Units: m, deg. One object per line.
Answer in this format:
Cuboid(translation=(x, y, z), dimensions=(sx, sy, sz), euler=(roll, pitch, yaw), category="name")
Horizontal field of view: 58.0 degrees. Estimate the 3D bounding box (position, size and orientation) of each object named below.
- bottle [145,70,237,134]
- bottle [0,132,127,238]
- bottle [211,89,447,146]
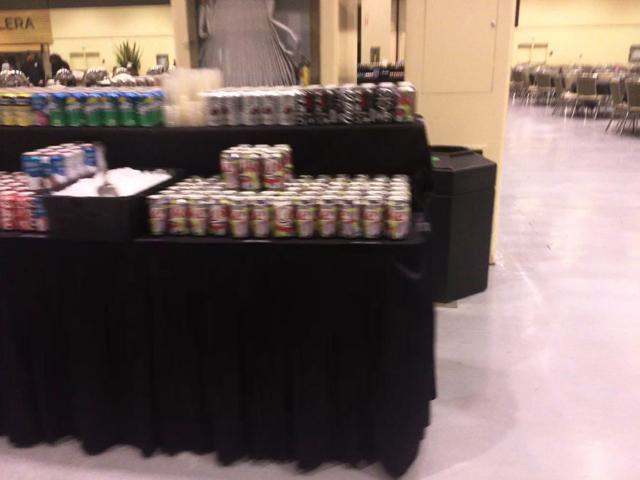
Cuboid(translation=(-0.450, -0.510, 2.090), dimensions=(0.200, 0.180, 0.420), euler=(4, 19, 5), category="bottle")
Cuboid(translation=(-1.080, -0.210, 1.980), dimensions=(0.680, 0.250, 0.390), euler=(4, 19, 5), category="bottle")
Cuboid(translation=(0.040, -0.450, 2.070), dimensions=(0.770, 0.120, 0.380), euler=(4, 19, 5), category="bottle")
